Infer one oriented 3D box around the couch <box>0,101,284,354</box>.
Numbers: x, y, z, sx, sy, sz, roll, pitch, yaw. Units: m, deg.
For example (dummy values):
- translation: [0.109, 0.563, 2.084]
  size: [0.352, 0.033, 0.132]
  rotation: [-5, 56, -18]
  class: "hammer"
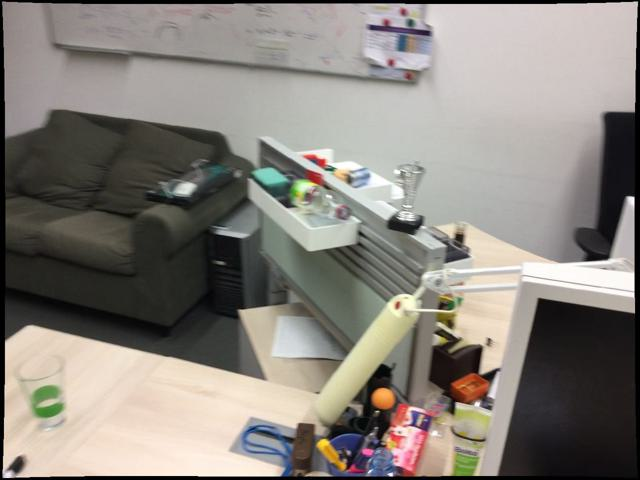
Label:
- translation: [-1.079, -0.170, 2.950]
  size: [1.499, 0.751, 0.960]
  rotation: [10, 28, 20]
  class: "couch"
